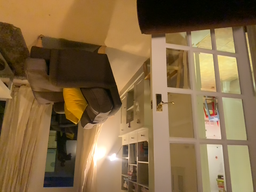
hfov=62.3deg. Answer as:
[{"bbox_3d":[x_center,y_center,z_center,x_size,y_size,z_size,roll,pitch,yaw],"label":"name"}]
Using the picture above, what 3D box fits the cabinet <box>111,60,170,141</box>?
[{"bbox_3d":[0.130,0.190,3.580,0.460,1.030,1.470,6,164,-17],"label":"cabinet"}]
